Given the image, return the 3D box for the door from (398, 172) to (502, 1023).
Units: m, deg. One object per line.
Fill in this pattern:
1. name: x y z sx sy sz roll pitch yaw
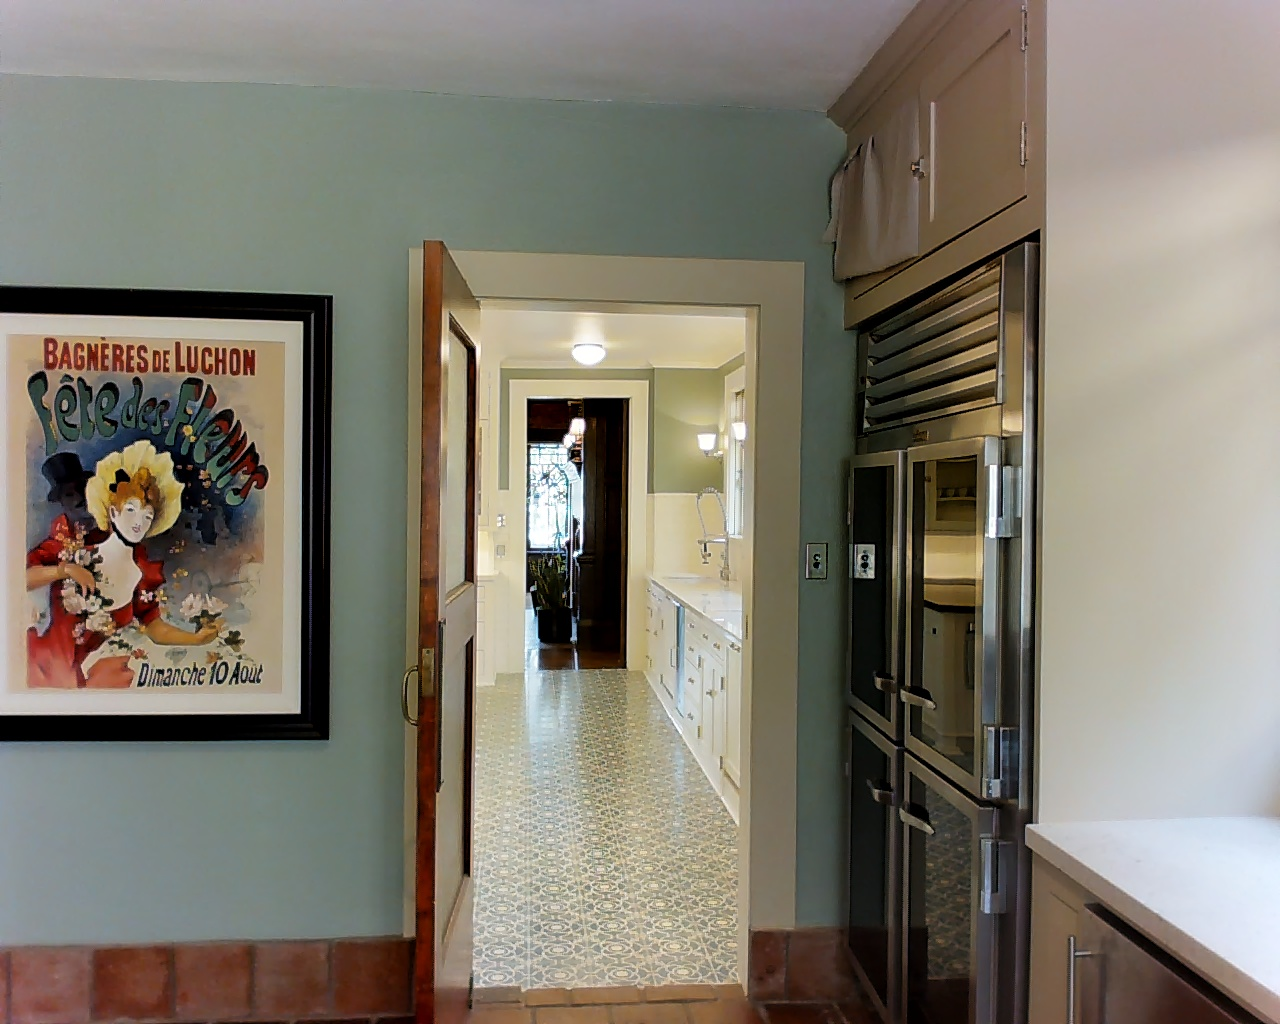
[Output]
1. door: -0.490 0.360 2.880 0.150 2.280 0.820 1 1 -2
